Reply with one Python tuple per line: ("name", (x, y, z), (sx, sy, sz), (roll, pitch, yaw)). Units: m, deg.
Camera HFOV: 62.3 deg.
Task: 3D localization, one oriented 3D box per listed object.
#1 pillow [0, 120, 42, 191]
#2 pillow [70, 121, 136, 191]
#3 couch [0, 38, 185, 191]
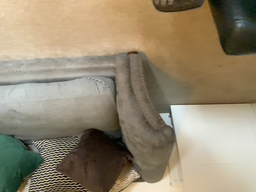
("pillow", (-0.950, 0.480, 1.630), (0.410, 0.500, 0.320), (4, 147, -9))
("pillow", (-0.170, 0.460, 1.590), (0.420, 0.460, 0.270), (-1, 148, -2))
("couch", (-0.500, 0.260, 1.730), (1.620, 0.740, 1.090), (-4, 148, 3))
